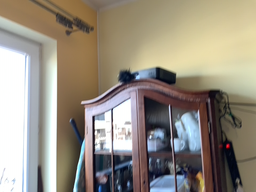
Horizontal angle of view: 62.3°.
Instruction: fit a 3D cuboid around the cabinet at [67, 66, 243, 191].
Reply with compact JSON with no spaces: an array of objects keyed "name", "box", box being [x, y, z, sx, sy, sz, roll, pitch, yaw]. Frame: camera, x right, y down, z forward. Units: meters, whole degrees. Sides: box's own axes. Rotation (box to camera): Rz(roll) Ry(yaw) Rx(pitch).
[{"name":"cabinet","box":[0.160,0.800,1.280,0.980,1.770,0.430,-5,-7,25]}]
